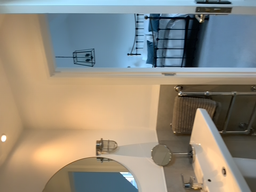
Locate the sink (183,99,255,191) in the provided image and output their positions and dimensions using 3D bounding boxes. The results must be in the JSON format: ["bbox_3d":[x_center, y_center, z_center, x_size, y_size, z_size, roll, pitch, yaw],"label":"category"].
[{"bbox_3d":[0.610,0.460,1.480,0.900,0.180,0.480,-91,1,-60],"label":"sink"}]

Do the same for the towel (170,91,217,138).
[{"bbox_3d":[0.570,0.170,1.890,0.120,0.320,0.420,-91,1,-62],"label":"towel"}]
